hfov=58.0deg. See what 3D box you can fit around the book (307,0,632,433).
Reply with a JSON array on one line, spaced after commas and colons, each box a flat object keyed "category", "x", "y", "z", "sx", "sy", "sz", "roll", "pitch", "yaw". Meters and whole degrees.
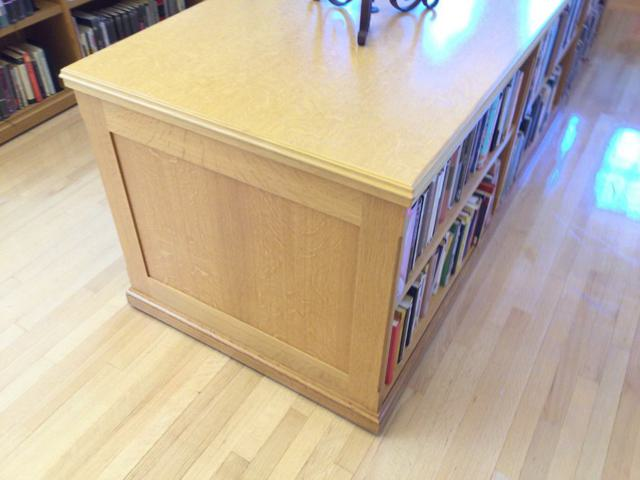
[{"category": "book", "x": 0.780, "y": -0.580, "z": 2.080, "sx": 0.240, "sy": 0.700, "sz": 2.640, "roll": 22, "pitch": 47, "yaw": 23}]
